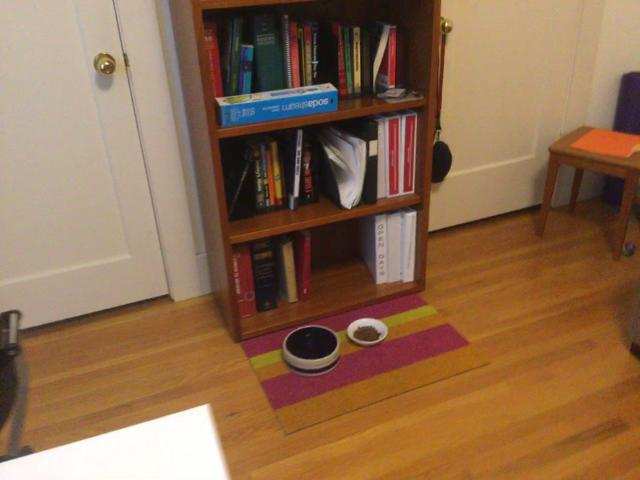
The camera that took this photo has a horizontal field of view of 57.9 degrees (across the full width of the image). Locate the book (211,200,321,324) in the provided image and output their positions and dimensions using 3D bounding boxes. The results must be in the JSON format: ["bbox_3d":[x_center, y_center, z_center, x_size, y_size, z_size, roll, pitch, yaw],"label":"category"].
[{"bbox_3d":[-0.190,0.070,2.070,0.300,0.310,0.240,-15,29,-20],"label":"book"}]

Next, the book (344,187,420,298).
[{"bbox_3d":[0.230,0.000,2.190,0.140,0.300,0.310,-15,29,-20],"label":"book"}]

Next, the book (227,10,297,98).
[{"bbox_3d":[-0.180,-0.580,1.790,0.120,0.220,0.240,-15,29,-20],"label":"book"}]

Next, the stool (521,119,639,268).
[{"bbox_3d":[1.170,-0.220,2.440,0.410,0.430,0.450,21,36,40],"label":"stool"}]

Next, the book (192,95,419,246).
[{"bbox_3d":[-0.040,-0.260,1.970,0.680,0.310,0.310,-15,29,-20],"label":"book"}]

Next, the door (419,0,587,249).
[{"bbox_3d":[0.720,-0.940,2.190,0.730,1.970,0.070,-15,29,-20],"label":"door"}]

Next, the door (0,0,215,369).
[{"bbox_3d":[-0.860,-0.560,1.570,0.860,1.970,0.150,-15,29,-20],"label":"door"}]

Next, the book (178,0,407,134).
[{"bbox_3d":[-0.070,-0.580,1.850,0.670,0.320,0.220,-15,29,-20],"label":"book"}]

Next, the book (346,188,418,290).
[{"bbox_3d":[0.230,-0.010,2.180,0.150,0.280,0.260,-15,29,-20],"label":"book"}]
